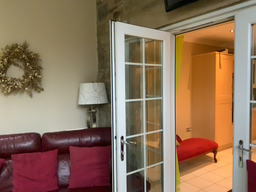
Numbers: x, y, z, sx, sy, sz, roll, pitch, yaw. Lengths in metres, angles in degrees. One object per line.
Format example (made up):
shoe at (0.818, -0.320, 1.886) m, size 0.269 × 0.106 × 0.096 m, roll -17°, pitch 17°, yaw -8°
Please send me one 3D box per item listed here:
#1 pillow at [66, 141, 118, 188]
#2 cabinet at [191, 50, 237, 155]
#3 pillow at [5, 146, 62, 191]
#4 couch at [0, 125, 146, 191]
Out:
pillow at (-0.410, 0.780, 2.420) m, size 0.480 × 0.430 × 0.120 m, roll 15°, pitch -6°, yaw -16°
cabinet at (1.910, 0.120, 4.750) m, size 0.730 × 2.140 × 0.600 m, roll -2°, pitch 4°, yaw -30°
pillow at (-0.990, 0.800, 2.270) m, size 0.450 × 0.410 × 0.140 m, roll 16°, pitch -6°, yaw -16°
couch at (-0.970, 0.930, 2.220) m, size 2.110 × 0.950 × 0.960 m, roll -1°, pitch 4°, yaw -15°
